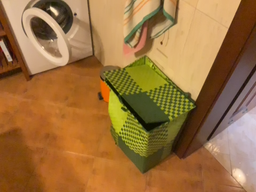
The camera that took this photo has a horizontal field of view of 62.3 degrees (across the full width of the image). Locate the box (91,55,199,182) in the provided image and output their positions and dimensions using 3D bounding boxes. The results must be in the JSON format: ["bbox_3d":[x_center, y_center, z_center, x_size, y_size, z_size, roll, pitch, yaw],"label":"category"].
[{"bbox_3d":[0.060,0.140,1.310,0.350,0.500,0.500,-24,56,-21],"label":"box"}]

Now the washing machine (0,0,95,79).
[{"bbox_3d":[-0.690,-0.700,1.740,0.590,0.820,0.530,-25,56,-22],"label":"washing machine"}]
